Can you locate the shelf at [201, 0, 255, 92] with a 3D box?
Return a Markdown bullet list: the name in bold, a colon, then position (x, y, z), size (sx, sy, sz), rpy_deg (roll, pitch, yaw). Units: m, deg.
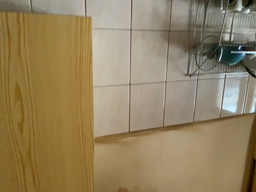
- **shelf**: position (0.700, -0.320, 1.090), size (0.510, 0.510, 0.280), rpy_deg (-5, -163, -23)
